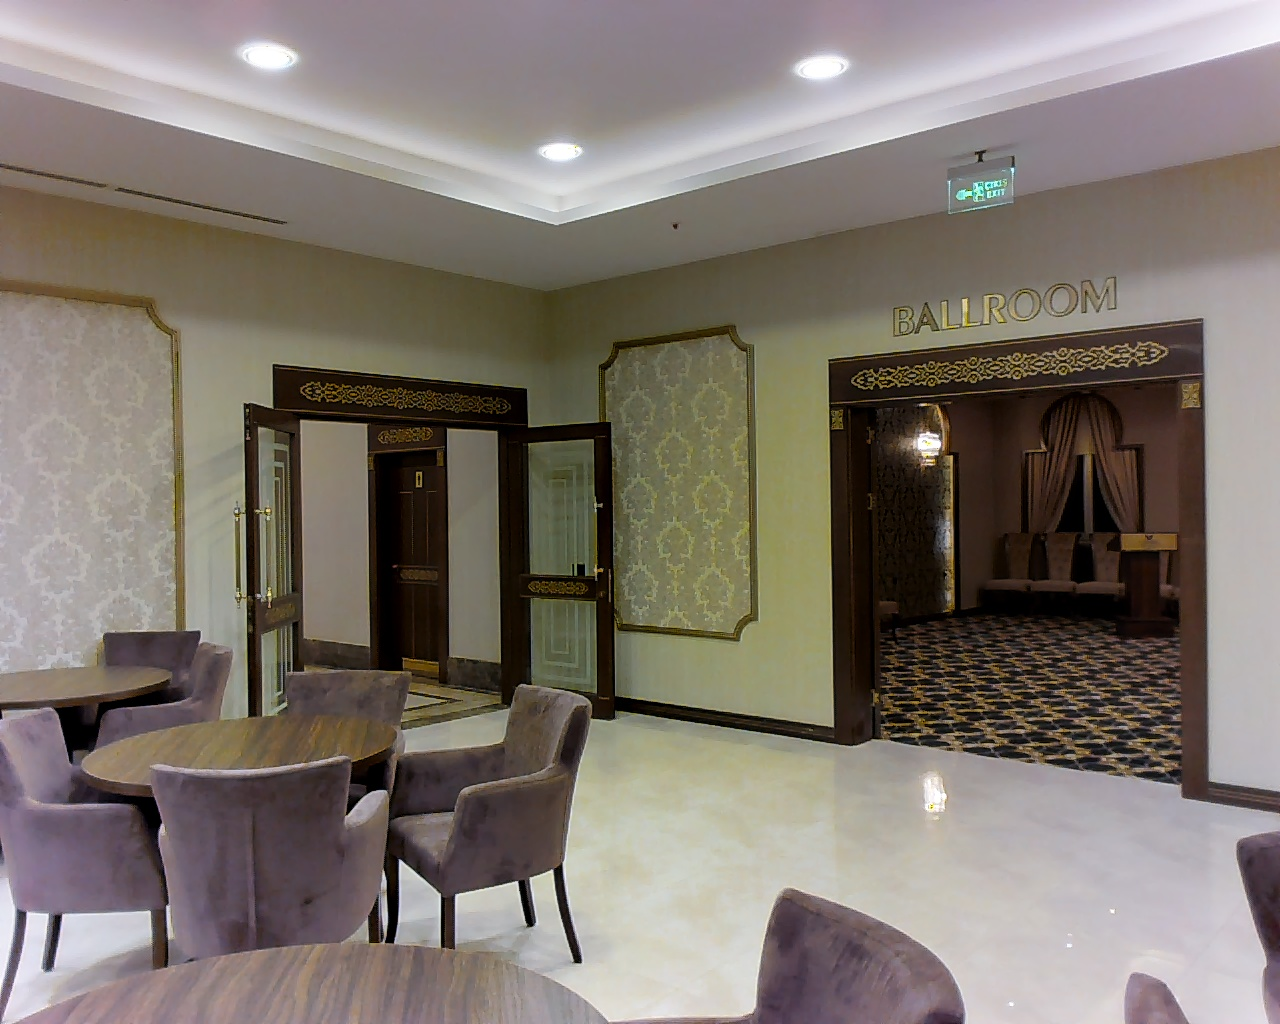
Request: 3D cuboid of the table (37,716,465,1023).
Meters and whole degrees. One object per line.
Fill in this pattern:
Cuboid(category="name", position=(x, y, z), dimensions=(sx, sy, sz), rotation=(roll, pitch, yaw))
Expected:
Cuboid(category="table", position=(-1.289, 1.181, 3.600), dimensions=(0.960, 0.730, 1.000), rotation=(0, 0, 41))

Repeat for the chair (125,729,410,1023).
Cuboid(category="chair", position=(-1.030, 1.141, 3.110), dimensions=(0.610, 0.870, 0.690), rotation=(-1, 0, -4))

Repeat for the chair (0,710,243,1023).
Cuboid(category="chair", position=(-1.679, 1.110, 3.470), dimensions=(0.650, 0.810, 0.580), rotation=(-1, 0, -11))

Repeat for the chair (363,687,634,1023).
Cuboid(category="chair", position=(-0.510, 1.110, 3.720), dimensions=(0.730, 0.850, 0.710), rotation=(-1, 0, -26))

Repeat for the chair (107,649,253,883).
Cuboid(category="chair", position=(-2.179, 1.151, 5.070), dimensions=(0.570, 0.900, 0.650), rotation=(-1, 0, -28))
